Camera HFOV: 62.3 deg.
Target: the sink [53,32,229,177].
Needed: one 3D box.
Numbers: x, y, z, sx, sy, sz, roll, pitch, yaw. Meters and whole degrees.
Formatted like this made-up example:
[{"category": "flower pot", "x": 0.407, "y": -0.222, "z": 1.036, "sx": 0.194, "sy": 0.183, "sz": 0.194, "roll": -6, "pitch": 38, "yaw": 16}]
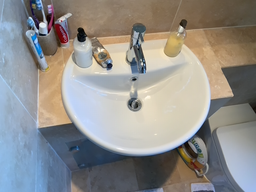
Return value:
[{"category": "sink", "x": 0.020, "y": 0.010, "z": 0.870, "sx": 0.550, "sy": 0.200, "sz": 0.470, "roll": -10, "pitch": 64, "yaw": -12}]
